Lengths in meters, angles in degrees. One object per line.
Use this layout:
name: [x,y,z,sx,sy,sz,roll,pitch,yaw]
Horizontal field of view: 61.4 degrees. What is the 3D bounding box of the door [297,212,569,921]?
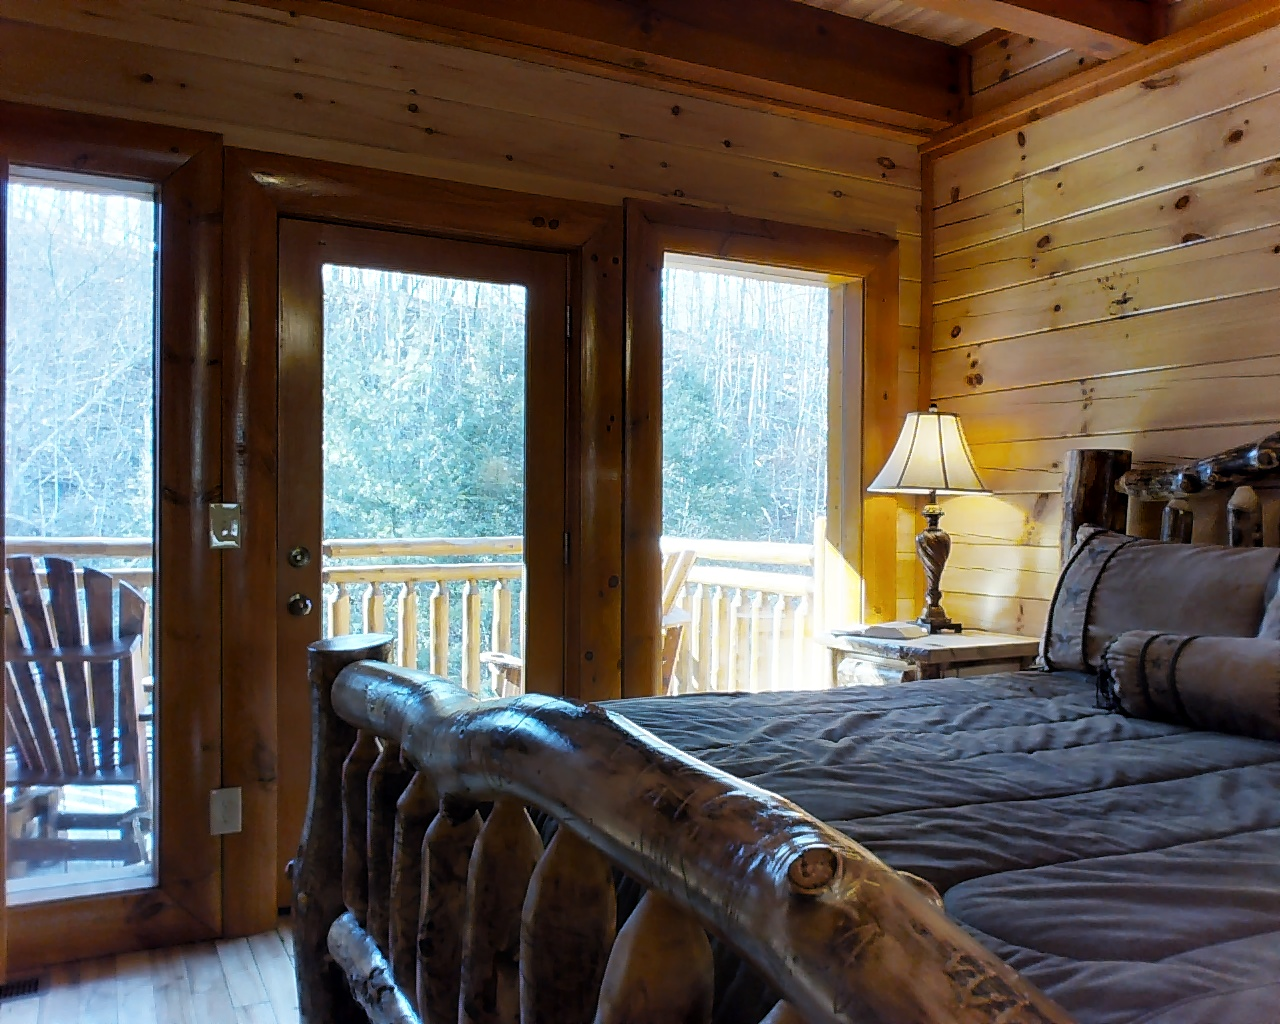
door: [-0.630,0.160,3.320,0.780,2.011,0.200,0,1,-28]
